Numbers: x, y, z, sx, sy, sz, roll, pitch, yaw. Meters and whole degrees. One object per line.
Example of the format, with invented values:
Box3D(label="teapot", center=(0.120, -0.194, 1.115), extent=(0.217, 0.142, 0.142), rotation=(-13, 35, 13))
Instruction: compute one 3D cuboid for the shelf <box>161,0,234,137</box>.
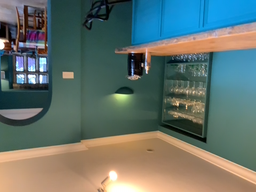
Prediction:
Box3D(label="shelf", center=(1.070, -0.580, 3.450), extent=(0.460, 2.240, 0.940), rotation=(-2, -172, -29))
